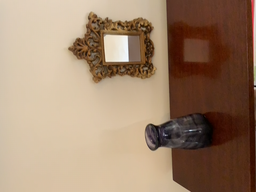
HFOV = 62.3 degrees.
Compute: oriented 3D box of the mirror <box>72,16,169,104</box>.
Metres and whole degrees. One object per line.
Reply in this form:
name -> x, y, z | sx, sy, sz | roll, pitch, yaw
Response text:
mirror -> -0.030, -0.110, 0.720 | 0.150, 0.280, 0.250 | 178, 88, -70
